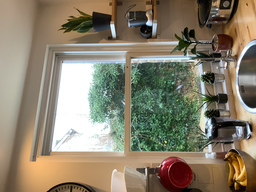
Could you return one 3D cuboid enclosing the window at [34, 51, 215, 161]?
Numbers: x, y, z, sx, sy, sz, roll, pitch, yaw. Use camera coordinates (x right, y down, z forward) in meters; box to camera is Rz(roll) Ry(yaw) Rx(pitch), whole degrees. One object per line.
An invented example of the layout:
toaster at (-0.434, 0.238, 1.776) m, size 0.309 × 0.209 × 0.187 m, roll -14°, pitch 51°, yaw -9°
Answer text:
window at (-0.030, 0.050, 1.780) m, size 0.060 × 1.370 × 0.940 m, roll 85°, pitch -175°, yaw -71°
